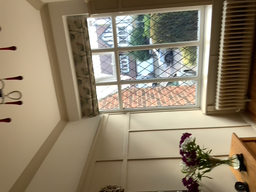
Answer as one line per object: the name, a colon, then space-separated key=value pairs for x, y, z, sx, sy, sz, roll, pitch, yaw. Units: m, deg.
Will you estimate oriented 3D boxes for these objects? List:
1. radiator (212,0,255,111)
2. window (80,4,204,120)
radiator: x=1.420 y=-0.510 z=2.870 sx=0.140 sy=0.450 sz=1.450 roll=-85 pitch=-8 yaw=-74
window: x=0.230 y=-0.450 z=3.180 sx=0.200 sy=1.670 sz=1.600 roll=-86 pitch=-8 yaw=-72
